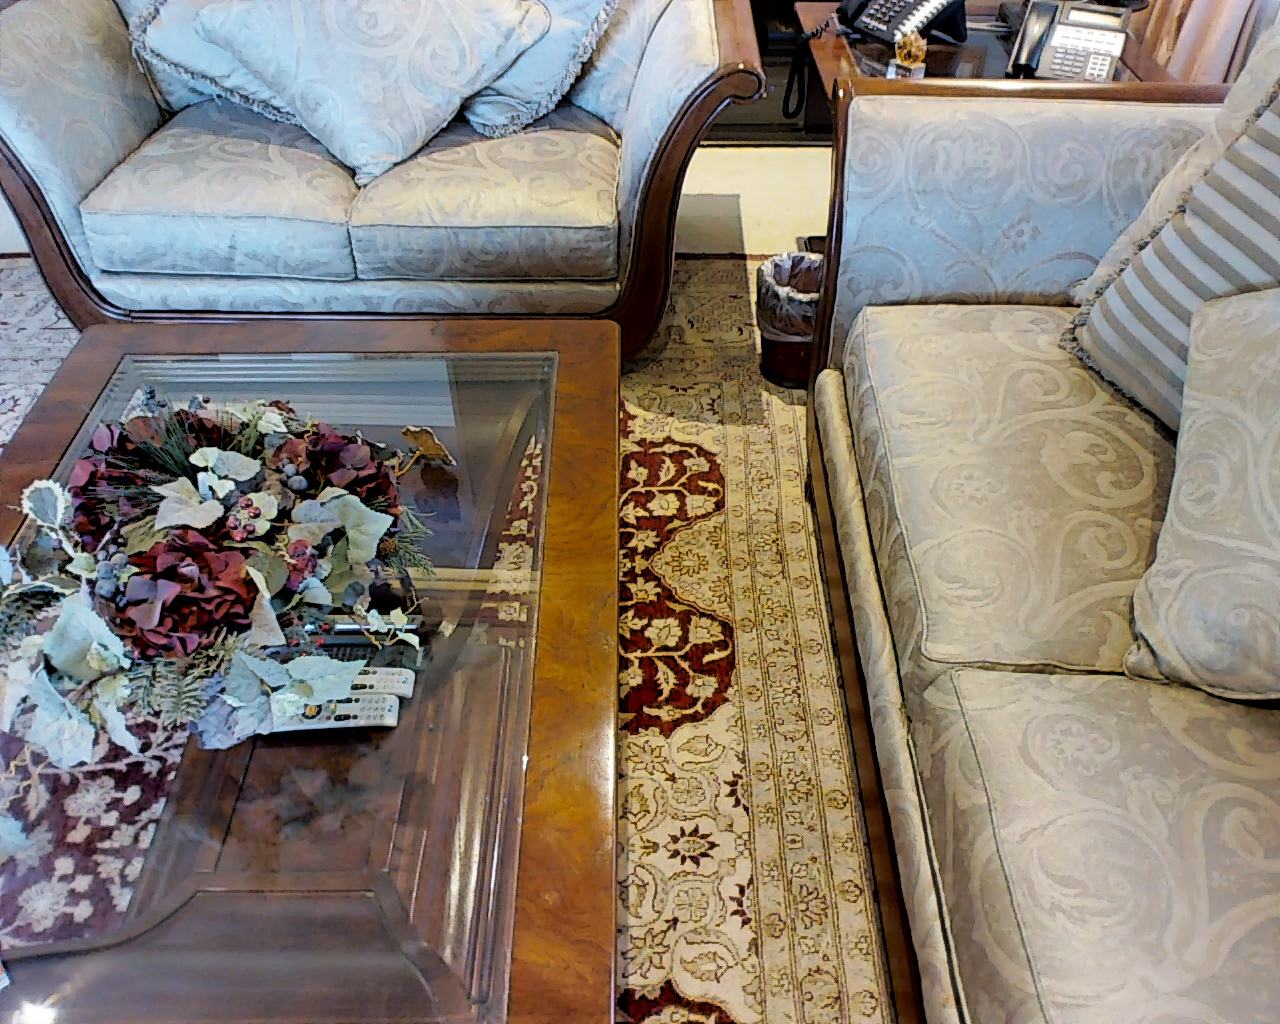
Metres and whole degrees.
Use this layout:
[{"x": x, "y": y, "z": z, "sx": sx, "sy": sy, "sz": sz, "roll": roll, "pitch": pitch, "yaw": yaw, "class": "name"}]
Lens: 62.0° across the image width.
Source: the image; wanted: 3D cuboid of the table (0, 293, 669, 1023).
[{"x": -0.460, "y": 0.270, "z": 1.430, "sx": 0.940, "sy": 0.500, "sz": 1.310, "roll": -1, "pitch": 42, "yaw": -1, "class": "table"}]
